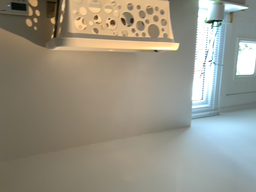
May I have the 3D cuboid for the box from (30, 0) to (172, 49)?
[{"bbox_3d":[-0.150,-0.400,1.080,0.600,0.290,0.410,-5,-168,-28],"label":"box"}]
